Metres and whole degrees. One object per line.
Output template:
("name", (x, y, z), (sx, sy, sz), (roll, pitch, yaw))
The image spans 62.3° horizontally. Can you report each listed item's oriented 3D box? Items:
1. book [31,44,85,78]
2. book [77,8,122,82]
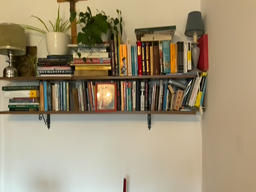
("book", (-0.510, -0.250, 1.600), (0.310, 0.210, 0.270), (0, 0, 4))
("book", (-0.200, -0.360, 1.580), (0.300, 0.490, 0.240), (0, 0, 1))
